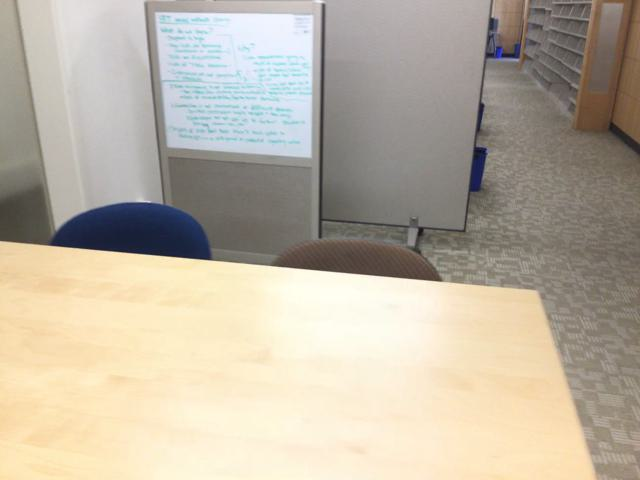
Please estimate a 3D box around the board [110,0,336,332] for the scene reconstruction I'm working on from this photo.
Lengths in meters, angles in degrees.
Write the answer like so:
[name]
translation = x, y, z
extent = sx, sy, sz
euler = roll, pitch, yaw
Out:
[board]
translation = -0.360, -0.330, 2.480
extent = 0.790, 1.350, 0.380
euler = 4, 21, 9
